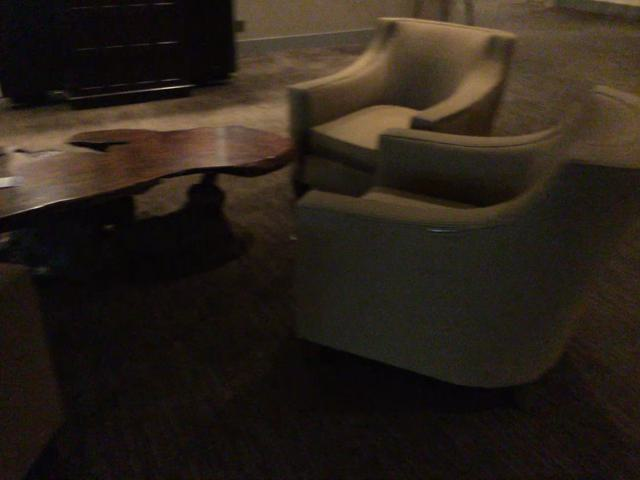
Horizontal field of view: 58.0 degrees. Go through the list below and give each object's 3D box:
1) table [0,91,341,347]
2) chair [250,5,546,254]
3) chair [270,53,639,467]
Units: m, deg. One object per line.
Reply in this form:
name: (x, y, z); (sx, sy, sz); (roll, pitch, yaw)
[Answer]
table: (-0.870, -0.170, 2.450); (1.740, 0.480, 0.850); (-18, 35, -30)
chair: (0.390, -0.660, 2.980); (1.030, 0.830, 1.030); (22, 36, 32)
chair: (0.530, -0.050, 1.910); (1.080, 0.840, 0.870); (13, 32, 20)
